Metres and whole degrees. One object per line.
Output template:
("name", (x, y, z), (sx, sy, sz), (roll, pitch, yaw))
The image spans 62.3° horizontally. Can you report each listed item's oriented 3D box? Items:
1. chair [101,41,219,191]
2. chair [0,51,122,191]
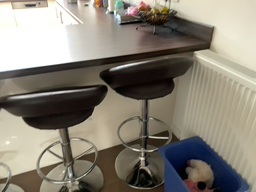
("chair", (0.140, 0.150, 1.400), (0.490, 0.860, 0.480), (-10, 32, -17))
("chair", (-0.360, 0.260, 1.200), (0.520, 0.860, 0.480), (-10, 32, -17))
